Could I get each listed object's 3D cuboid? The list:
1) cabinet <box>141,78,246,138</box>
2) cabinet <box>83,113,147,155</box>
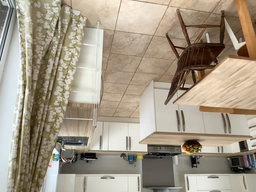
[{"bbox_3d":[1.100,0.240,3.700,1.660,0.850,0.460,5,158,-12],"label":"cabinet"},{"bbox_3d":[-0.360,1.020,5.590,1.560,0.930,0.590,4,158,-11],"label":"cabinet"}]
